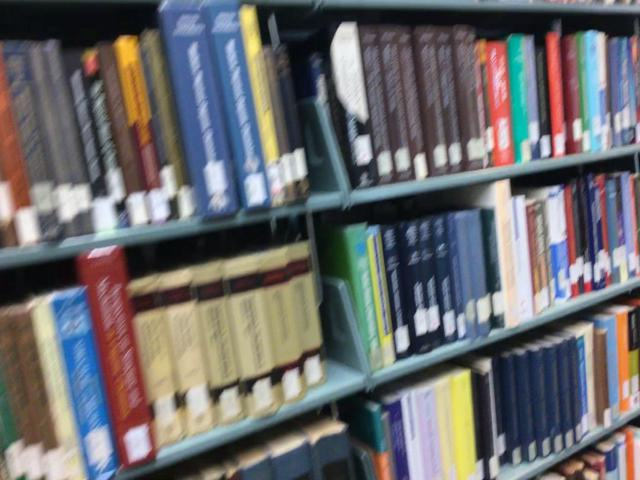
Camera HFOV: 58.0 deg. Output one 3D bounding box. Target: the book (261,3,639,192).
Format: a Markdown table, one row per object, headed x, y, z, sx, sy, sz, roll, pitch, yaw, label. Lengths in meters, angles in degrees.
| x | y | z | sx | sy | sz | roll | pitch | yaw | label |
| --- | --- | --- | --- | --- | --- | --- | --- | --- | --- |
| 0.320 | -0.300 | 1.150 | 0.820 | 0.250 | 0.230 | -15 | 7 | -31 | book |

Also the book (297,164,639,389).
| x | y | z | sx | sy | sz | roll | pitch | yaw | label |
| --- | --- | --- | --- | --- | --- | --- | --- | --- | --- |
| 0.370 | 0.030 | 1.180 | 0.810 | 0.230 | 0.210 | -15 | 7 | -32 | book |
